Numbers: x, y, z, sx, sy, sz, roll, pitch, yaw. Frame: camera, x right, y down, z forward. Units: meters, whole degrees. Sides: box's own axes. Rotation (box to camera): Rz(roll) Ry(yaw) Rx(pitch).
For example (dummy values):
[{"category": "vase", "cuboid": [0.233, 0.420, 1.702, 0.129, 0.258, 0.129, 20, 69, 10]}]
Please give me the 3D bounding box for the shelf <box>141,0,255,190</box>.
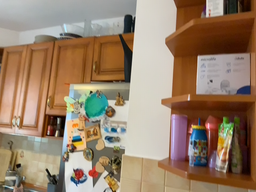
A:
[{"category": "shelf", "cuboid": [0.280, -0.220, 0.760, 0.310, 0.940, 0.310, 1, -9, 24]}]
